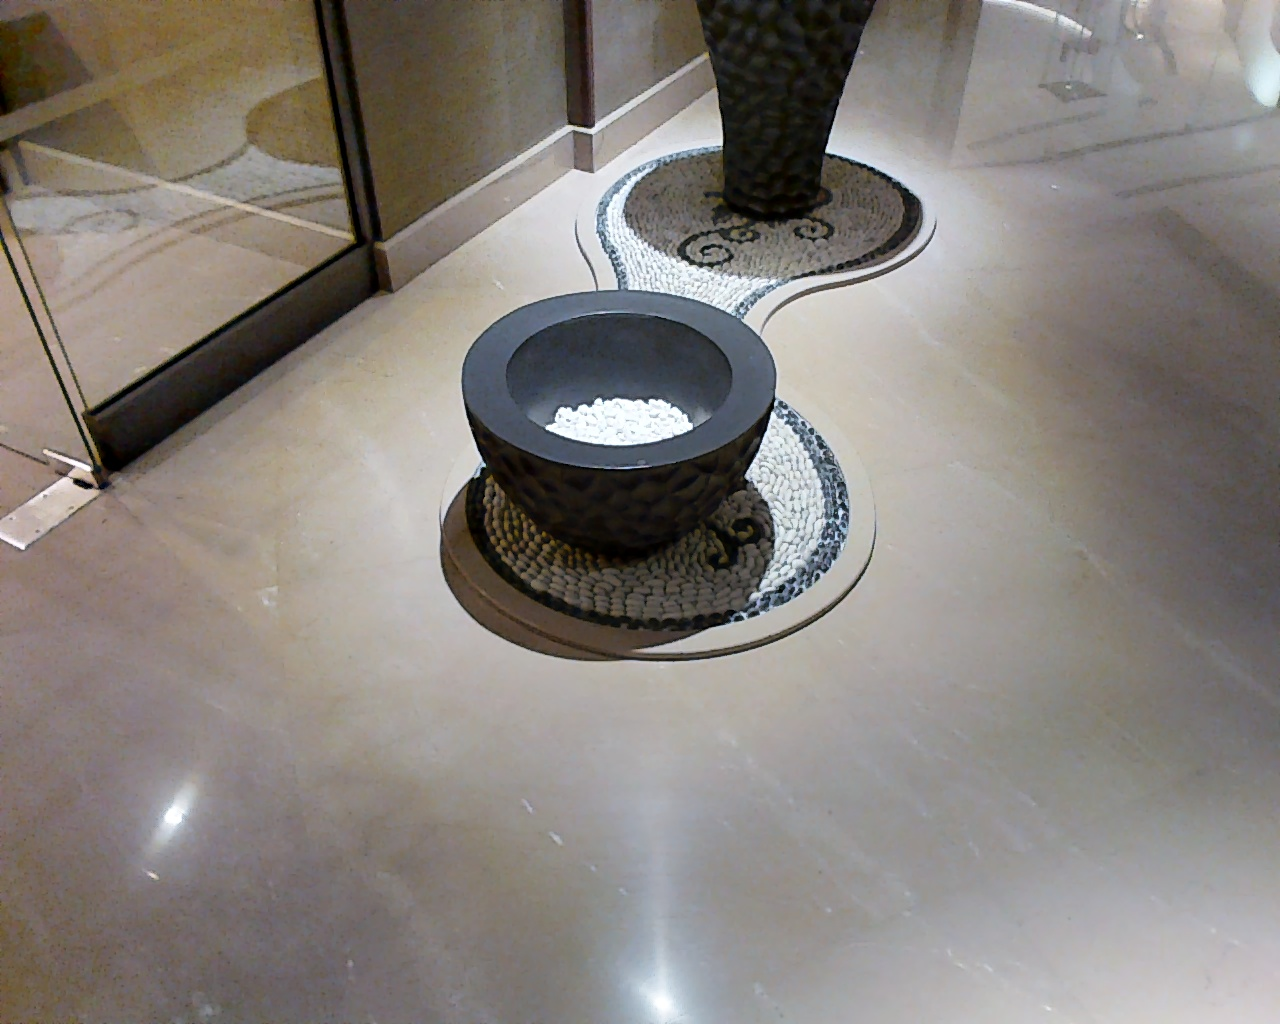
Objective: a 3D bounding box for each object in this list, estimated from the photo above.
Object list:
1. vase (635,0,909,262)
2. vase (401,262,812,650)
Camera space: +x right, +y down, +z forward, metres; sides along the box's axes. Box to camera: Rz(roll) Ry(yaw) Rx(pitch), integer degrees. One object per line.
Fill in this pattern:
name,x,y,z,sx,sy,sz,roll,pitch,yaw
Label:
vase,0.410,-1.440,3.290,0.620,1.040,0.630,20,45,21
vase,-0.050,-0.150,2.280,0.600,0.400,0.600,20,45,21
